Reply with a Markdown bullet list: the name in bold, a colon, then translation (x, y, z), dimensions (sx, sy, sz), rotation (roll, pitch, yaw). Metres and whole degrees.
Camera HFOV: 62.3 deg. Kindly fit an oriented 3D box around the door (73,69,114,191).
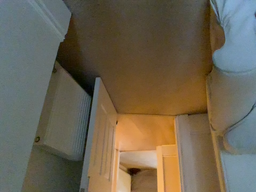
- **door**: translation (-0.290, 0.870, 1.850), dimensions (0.050, 2.070, 0.880), rotation (-3, 150, 8)
